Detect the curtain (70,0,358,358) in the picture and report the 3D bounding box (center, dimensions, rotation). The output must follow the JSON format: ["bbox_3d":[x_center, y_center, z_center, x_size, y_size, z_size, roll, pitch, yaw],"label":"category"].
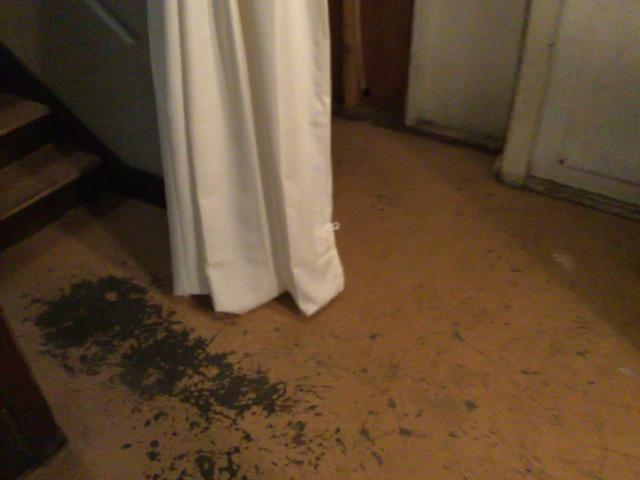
[{"bbox_3d":[-0.270,-0.600,1.460,0.630,1.900,0.370,19,41,27],"label":"curtain"}]
